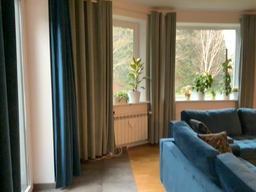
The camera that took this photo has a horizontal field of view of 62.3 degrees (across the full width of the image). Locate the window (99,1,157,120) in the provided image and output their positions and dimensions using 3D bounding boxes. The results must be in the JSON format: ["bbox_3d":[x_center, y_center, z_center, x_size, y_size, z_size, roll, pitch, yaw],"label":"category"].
[{"bbox_3d":[0.010,-0.650,4.250,1.100,2.140,0.330,-3,7,-30],"label":"window"}]

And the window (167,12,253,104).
[{"bbox_3d":[1.720,-0.770,4.570,1.620,1.810,0.480,0,6,-5],"label":"window"}]

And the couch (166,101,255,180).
[{"bbox_3d":[1.950,0.600,3.400,2.430,0.920,1.080,0,6,-5],"label":"couch"}]
